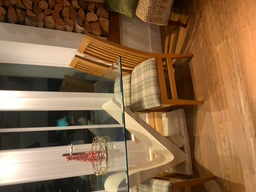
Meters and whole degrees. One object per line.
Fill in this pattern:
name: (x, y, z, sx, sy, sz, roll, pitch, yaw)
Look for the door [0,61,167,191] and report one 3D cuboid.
door: (-0.530, 0.750, 2.270, 0.090, 2.120, 2.200, 150, 118, -61)
